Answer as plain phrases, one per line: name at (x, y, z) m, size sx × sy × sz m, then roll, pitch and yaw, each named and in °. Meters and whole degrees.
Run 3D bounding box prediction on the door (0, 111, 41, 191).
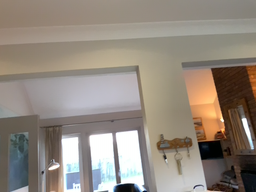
door at (-1.490, 1.260, 2.540) m, size 0.810 × 2.070 × 0.180 m, roll -6°, pitch -14°, yaw -5°
